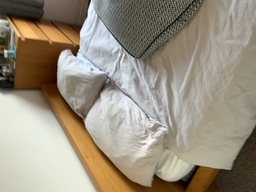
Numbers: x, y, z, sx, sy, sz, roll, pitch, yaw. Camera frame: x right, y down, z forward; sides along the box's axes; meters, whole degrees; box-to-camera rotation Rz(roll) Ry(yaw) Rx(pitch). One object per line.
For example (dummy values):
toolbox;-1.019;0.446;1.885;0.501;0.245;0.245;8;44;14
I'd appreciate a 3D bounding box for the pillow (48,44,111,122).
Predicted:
pillow;-0.430;-0.130;1.740;0.650;0.200;0.340;45;125;40

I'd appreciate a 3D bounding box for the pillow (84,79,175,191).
pillow;-0.040;0.210;1.300;0.590;0.150;0.380;45;125;40
